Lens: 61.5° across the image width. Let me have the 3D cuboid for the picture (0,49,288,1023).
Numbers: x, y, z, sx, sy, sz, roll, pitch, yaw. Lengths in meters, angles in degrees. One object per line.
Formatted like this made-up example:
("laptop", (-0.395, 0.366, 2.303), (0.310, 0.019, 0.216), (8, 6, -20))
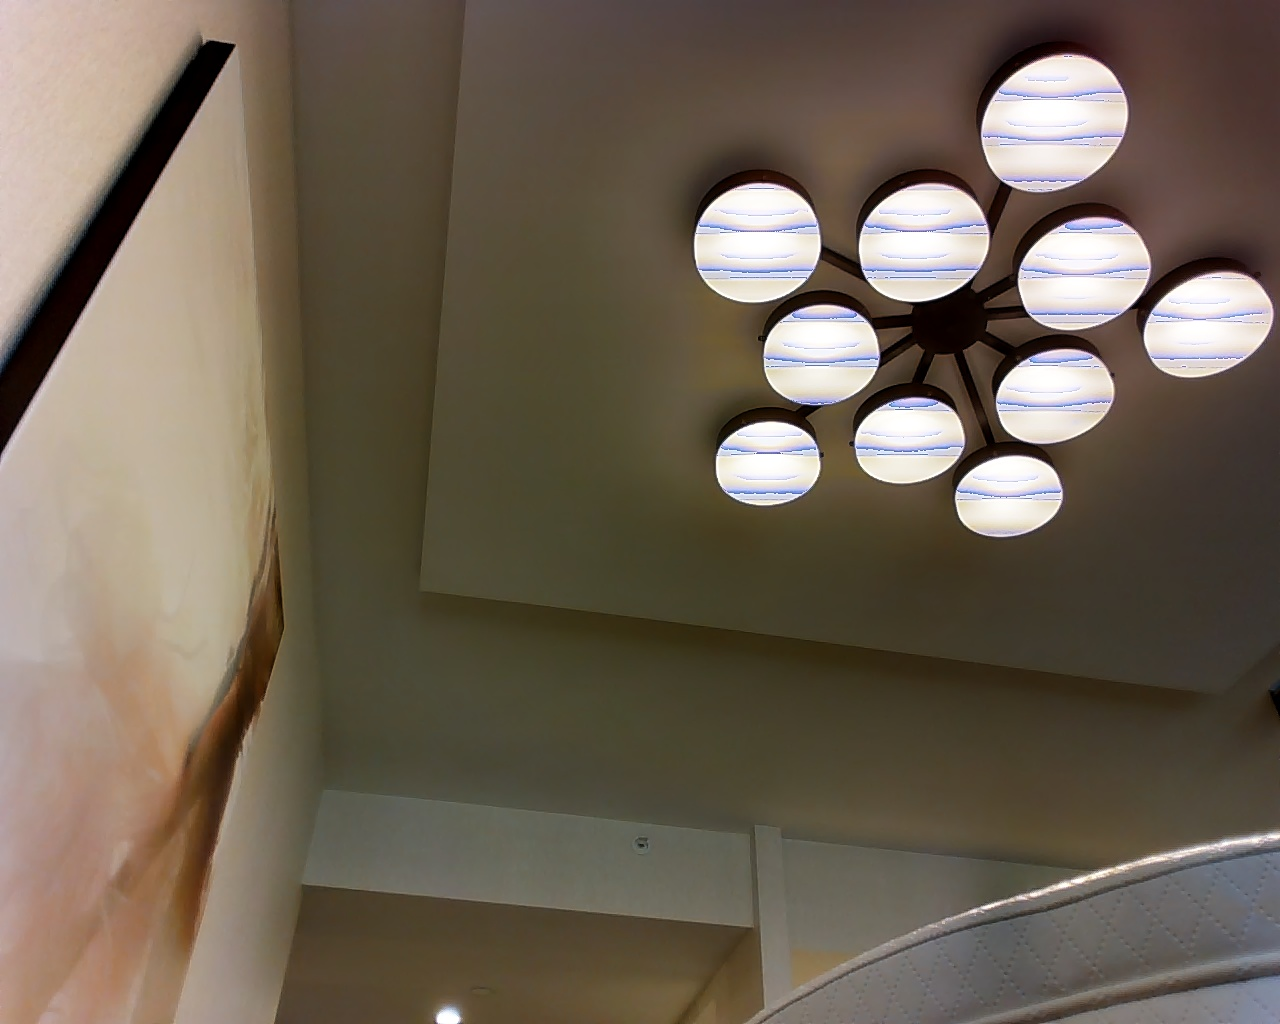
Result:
("picture", (-0.700, 0.350, 1.500), (0.030, 1.380, 1.400), (8, -42, -8))
